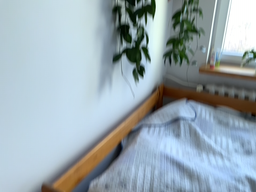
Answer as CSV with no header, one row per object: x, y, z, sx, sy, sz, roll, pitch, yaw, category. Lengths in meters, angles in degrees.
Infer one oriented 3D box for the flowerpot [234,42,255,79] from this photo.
1.120,-0.300,1.810,0.320,0.270,0.210,13,25,27,flowerpot
